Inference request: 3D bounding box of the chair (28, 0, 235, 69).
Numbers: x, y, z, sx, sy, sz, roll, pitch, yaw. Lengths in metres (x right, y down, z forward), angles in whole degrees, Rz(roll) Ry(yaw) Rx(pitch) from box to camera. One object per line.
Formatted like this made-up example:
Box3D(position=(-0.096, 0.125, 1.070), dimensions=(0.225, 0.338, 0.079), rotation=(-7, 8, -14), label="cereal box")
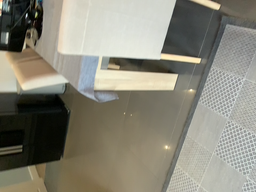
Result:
Box3D(position=(0.040, -0.450, 1.180), dimensions=(0.520, 0.970, 0.390), rotation=(36, 119, 46), label="chair")
